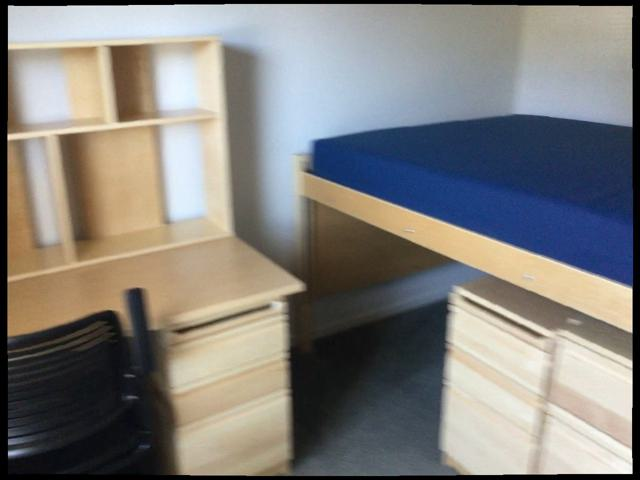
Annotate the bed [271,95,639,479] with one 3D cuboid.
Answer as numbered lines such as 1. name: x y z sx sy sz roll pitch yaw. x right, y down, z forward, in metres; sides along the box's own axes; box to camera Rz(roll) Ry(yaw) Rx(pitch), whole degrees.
1. bed: 1.058 0.180 2.280 1.588 1.122 2.249 -14 24 -29
